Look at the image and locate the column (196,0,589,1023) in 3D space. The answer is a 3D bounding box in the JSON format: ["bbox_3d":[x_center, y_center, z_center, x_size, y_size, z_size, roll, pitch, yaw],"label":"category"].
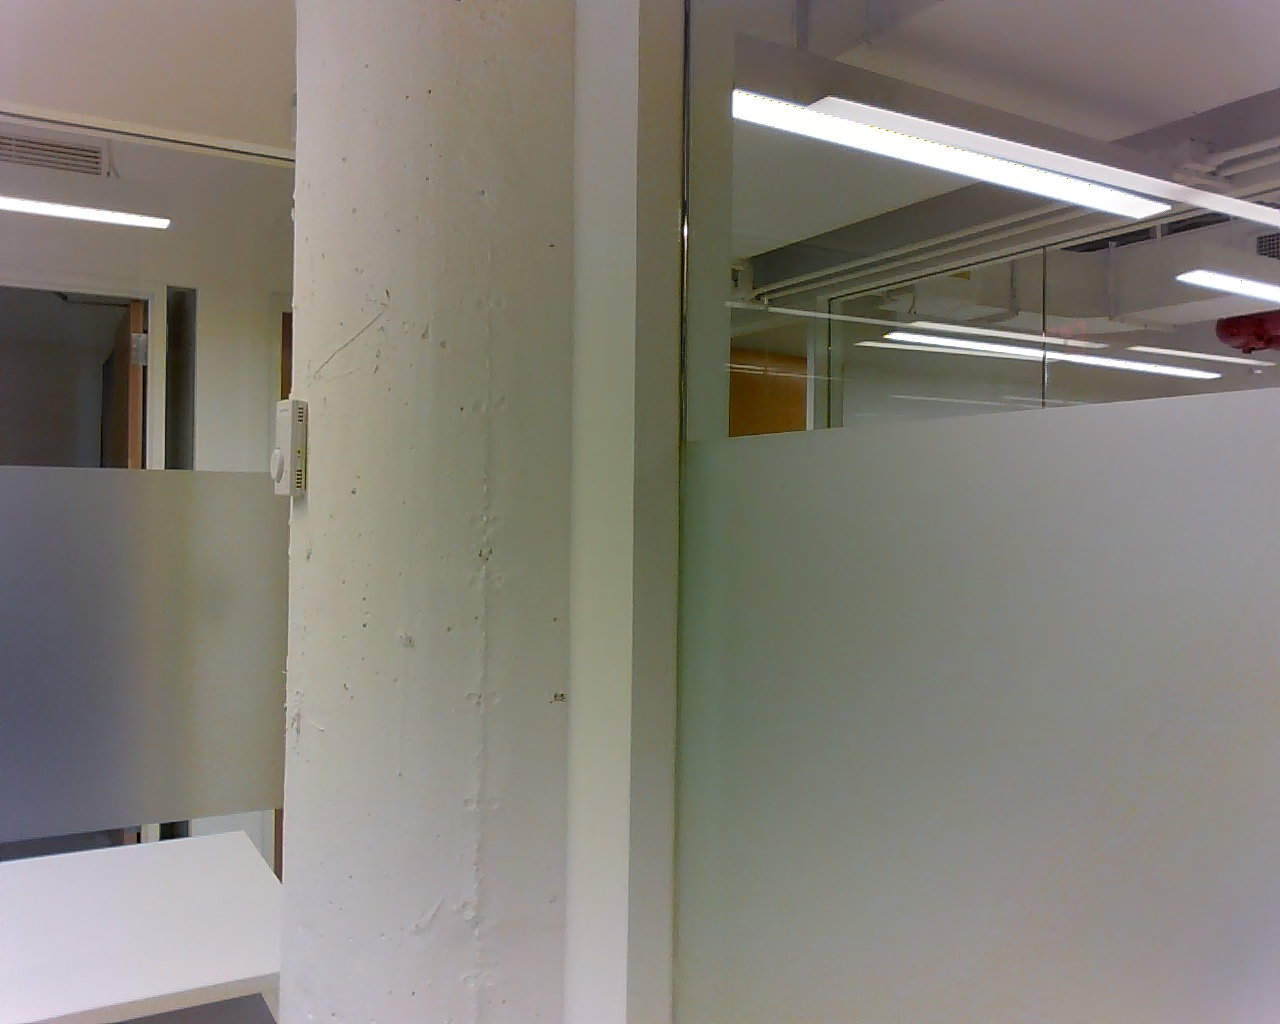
[{"bbox_3d":[-0.370,-0.020,1.440,0.310,2.921,0.680,1,0,-30],"label":"column"}]
